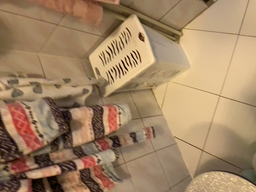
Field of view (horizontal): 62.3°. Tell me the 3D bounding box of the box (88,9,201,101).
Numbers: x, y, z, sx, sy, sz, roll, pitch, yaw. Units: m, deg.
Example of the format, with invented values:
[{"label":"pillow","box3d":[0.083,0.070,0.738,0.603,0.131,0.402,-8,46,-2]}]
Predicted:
[{"label":"box","box3d":[0.100,-0.190,1.210,0.370,0.460,0.280,-35,69,35]}]
